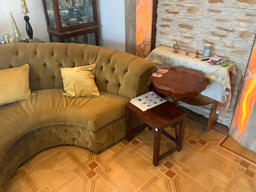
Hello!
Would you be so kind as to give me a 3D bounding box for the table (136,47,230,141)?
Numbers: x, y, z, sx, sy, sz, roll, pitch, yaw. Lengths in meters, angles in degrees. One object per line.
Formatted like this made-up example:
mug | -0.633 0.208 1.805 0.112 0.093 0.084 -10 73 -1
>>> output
table | 0.540 -0.070 2.410 0.310 0.730 0.930 -27 40 -37
